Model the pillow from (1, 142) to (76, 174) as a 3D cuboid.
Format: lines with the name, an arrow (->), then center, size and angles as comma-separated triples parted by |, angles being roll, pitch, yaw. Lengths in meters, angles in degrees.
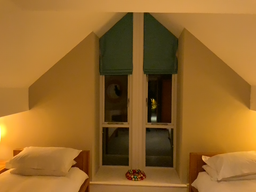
pillow -> -1.100, 0.770, 2.680 | 0.790, 0.260, 0.380 | 0, 3, 2

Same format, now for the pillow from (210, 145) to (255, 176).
pillow -> 1.430, 0.780, 2.600 | 0.680, 0.230, 0.420 | 0, 3, -1
